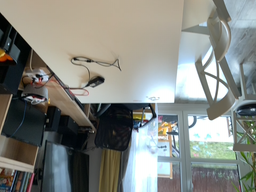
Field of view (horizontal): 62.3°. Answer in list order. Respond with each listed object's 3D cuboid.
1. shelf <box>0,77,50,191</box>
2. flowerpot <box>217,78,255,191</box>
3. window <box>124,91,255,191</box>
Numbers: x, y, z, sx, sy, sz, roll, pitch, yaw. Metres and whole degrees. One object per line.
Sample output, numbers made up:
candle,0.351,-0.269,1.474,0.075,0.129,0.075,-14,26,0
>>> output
shelf,-1.000,0.560,1.720,0.200,1.270,0.660,1,155,6
flowerpot,1.610,0.630,2.840,0.490,1.790,0.330,2,155,2
window,1.300,1.270,3.090,2.670,2.790,0.340,0,155,6
